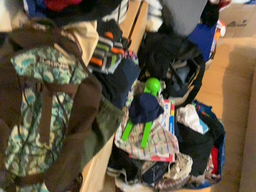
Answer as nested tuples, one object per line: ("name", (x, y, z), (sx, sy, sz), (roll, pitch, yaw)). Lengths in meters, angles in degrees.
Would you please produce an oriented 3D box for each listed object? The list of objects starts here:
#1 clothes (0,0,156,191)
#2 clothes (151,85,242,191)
("clothes", (-0.200, 0.000, 0.870), (0.370, 1.150, 0.980), (16, 69, 8))
("clothes", (0.370, 0.290, 1.200), (0.300, 0.350, 0.540), (18, 70, 8))
